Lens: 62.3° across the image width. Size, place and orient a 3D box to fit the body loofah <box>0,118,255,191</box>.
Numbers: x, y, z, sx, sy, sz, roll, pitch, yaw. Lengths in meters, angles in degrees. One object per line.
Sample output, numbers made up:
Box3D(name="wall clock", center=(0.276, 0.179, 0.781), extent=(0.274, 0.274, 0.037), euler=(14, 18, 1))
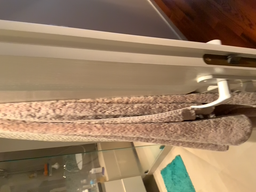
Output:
Box3D(name="body loofah", center=(0.090, 0.160, 0.680), extent=(0.410, 1.080, 0.140), euler=(159, 109, -65))
